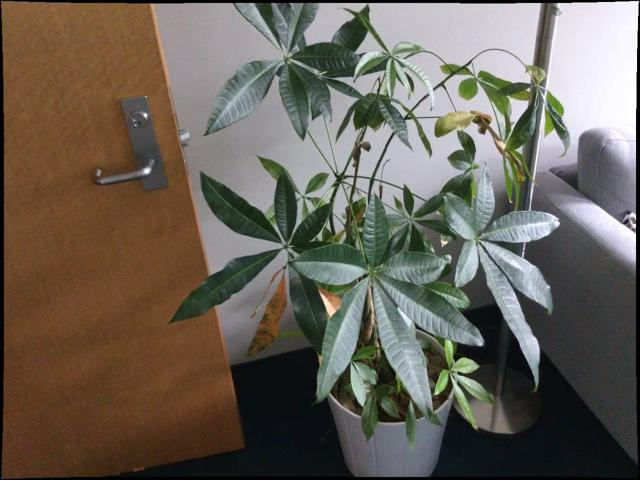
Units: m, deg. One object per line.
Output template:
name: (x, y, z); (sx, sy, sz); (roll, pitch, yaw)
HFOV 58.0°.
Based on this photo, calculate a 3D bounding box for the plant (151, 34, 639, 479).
plant: (0.120, 0.261, 1.270); (0.679, 1.102, 0.810); (-13, 34, -8)

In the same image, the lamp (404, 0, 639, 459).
lamp: (0.439, -0.251, 1.310); (0.389, 1.823, 0.320); (-13, 34, -8)
